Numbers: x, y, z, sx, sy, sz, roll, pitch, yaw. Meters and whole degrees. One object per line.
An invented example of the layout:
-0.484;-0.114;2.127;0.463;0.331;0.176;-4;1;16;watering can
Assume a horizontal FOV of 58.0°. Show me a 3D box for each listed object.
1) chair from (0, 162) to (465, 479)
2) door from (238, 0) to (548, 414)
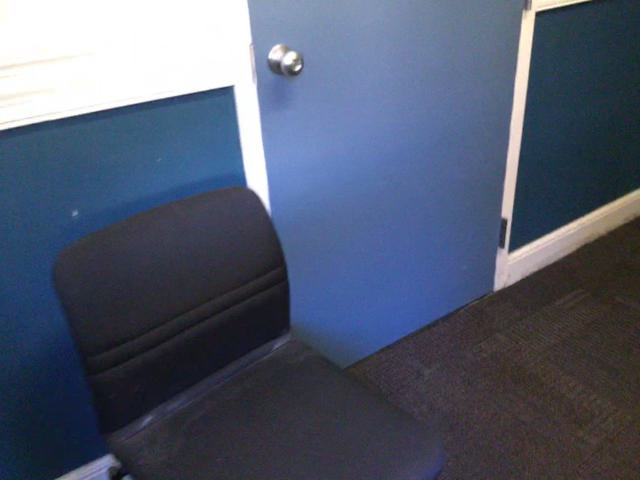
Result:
-0.130;0.370;1.130;0.510;0.800;0.590;-28;37;-33;chair
0.250;-0.280;1.600;0.900;1.430;0.110;-19;31;-28;door
